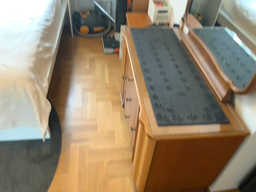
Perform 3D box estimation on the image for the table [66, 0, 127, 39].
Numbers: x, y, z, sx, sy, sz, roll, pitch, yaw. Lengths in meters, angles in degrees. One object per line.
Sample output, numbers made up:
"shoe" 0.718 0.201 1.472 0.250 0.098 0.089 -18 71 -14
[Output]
"table" -0.420 -1.260 2.850 0.730 0.780 0.550 -2 43 -8
